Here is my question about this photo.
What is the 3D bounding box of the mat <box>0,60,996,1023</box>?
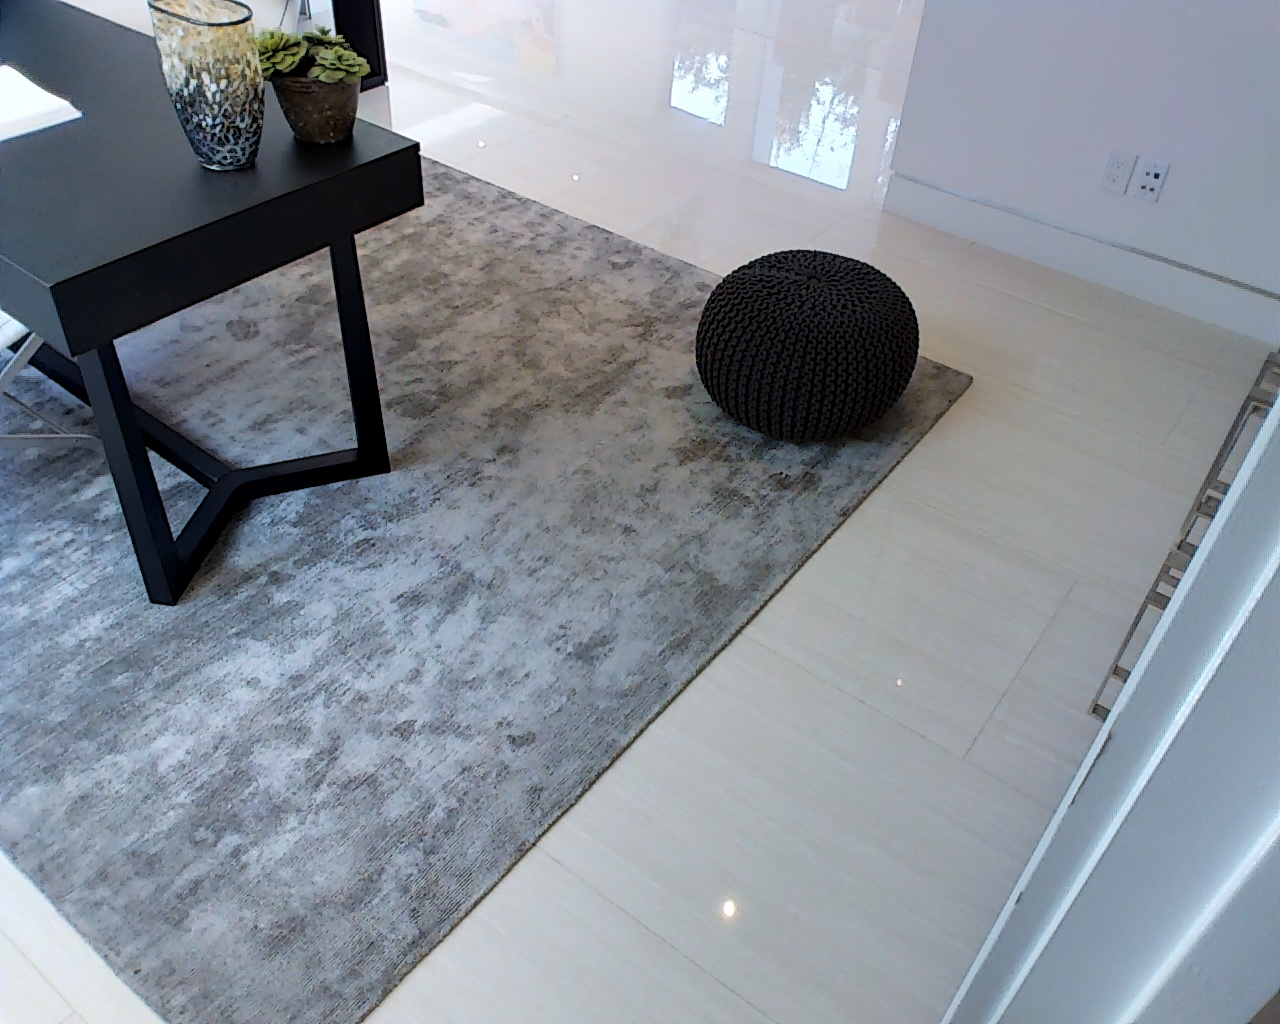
[{"bbox_3d":[-1.080,-0.460,2.830,3.270,0.060,2.390,28,47,25],"label":"mat"}]

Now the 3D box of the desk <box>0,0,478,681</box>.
[{"bbox_3d":[-1.250,-0.540,2.340,1.670,0.810,0.770,28,47,25],"label":"desk"}]

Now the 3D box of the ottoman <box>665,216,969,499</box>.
[{"bbox_3d":[0.430,-0.400,2.640,0.530,0.340,0.530,22,44,20],"label":"ottoman"}]
